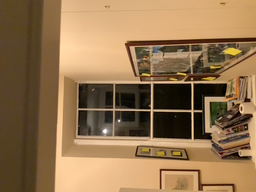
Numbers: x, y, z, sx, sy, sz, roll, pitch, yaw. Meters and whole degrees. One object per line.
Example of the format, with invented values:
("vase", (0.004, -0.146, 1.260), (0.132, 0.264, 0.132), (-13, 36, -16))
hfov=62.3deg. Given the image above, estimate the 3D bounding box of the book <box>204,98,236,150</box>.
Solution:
("book", (0.950, 0.280, 2.210), (0.280, 0.220, 0.500), (27, -117, -85))
